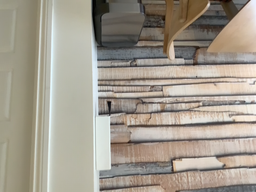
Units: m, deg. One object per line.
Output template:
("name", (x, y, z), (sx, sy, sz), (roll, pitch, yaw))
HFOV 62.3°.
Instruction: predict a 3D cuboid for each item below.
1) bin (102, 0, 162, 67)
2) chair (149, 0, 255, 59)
("bin", (-0.010, -0.650, 1.440), (0.320, 0.790, 0.450), (-2, 168, -5))
("chair", (0.440, -0.700, 1.240), (0.560, 0.820, 0.490), (-2, 168, -4))
